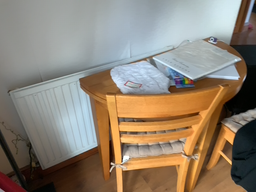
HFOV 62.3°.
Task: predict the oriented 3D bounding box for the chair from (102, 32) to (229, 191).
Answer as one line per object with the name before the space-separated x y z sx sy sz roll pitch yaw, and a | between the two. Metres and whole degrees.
chair | 0.100 0.190 1.150 0.400 0.880 0.550 -4 37 -5

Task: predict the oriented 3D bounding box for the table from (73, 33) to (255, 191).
table | 0.240 0.170 1.270 0.870 0.780 0.510 -20 42 -24
